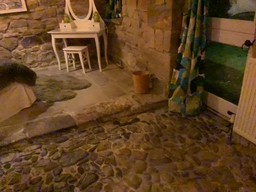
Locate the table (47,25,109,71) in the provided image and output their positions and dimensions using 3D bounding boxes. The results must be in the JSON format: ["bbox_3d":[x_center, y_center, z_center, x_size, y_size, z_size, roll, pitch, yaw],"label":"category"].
[{"bbox_3d":[-0.920,-0.940,4.140,0.920,0.740,0.580,1,27,10],"label":"table"}]
